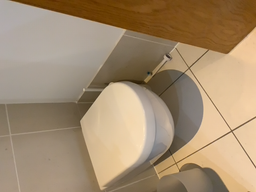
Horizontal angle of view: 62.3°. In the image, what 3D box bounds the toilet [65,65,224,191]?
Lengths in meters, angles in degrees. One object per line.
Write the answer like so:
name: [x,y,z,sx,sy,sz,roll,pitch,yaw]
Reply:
toilet: [0.050,0.200,1.130,0.560,0.490,0.420,-46,58,38]
